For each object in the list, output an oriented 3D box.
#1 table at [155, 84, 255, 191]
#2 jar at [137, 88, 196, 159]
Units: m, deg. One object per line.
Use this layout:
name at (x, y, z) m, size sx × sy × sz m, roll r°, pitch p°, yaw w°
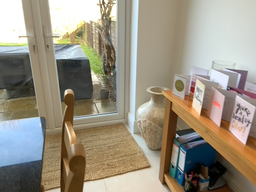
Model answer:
table at (0.640, 0.530, 1.130) m, size 0.450 × 0.770 × 1.290 m, roll -5°, pitch 24°, yaw -16°
jar at (0.350, 0.250, 2.110) m, size 0.400 × 0.540 × 0.380 m, roll -5°, pitch 24°, yaw -16°
